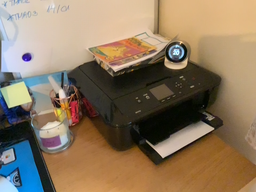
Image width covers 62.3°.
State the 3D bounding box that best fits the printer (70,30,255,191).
[{"bbox_3d":[0.090,-0.030,0.760,0.420,0.210,0.530,-18,38,-23],"label":"printer"}]
